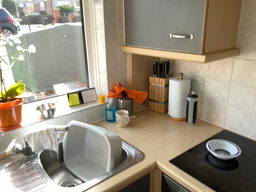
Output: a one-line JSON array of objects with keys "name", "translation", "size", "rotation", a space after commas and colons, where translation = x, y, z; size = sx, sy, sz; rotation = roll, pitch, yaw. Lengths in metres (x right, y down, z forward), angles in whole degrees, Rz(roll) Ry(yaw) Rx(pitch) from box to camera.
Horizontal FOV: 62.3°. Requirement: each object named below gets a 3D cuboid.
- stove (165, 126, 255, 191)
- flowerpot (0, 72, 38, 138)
[{"name": "stove", "translation": [0.580, 0.330, 0.990], "size": [0.550, 0.010, 0.590], "rotation": [-16, 24, -36]}, {"name": "flowerpot", "translation": [-0.680, 0.030, 1.210], "size": [0.190, 0.250, 0.340], "rotation": [-15, 24, -34]}]
